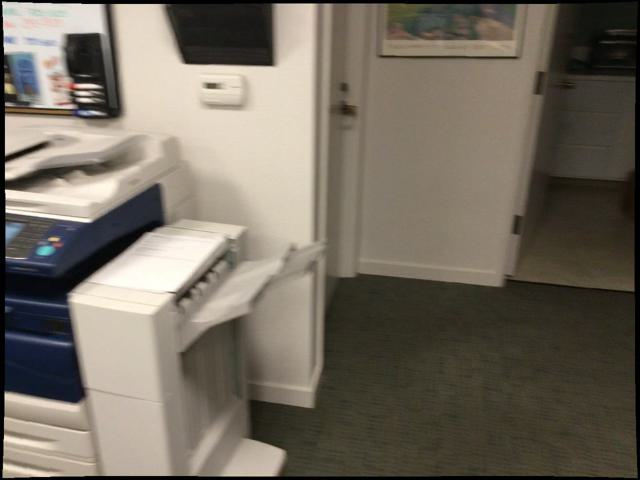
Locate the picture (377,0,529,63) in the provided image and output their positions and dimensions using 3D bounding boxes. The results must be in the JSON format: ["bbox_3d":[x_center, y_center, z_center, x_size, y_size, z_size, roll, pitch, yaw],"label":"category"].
[{"bbox_3d":[0.609,-1.161,2.620,0.659,0.651,0.070,6,26,11],"label":"picture"}]

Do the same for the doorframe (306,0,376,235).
[{"bbox_3d":[0.110,-0.901,2.430,0.140,1.551,0.830,6,26,11],"label":"doorframe"}]
